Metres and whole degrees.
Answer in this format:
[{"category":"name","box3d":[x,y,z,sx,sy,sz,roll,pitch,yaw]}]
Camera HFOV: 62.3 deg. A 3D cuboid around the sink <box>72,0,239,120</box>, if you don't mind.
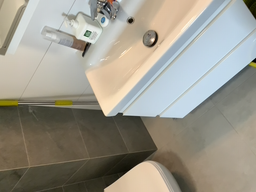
[{"category":"sink","box3d":[0.040,-0.230,0.850,0.610,0.150,0.360,-46,56,28]}]
